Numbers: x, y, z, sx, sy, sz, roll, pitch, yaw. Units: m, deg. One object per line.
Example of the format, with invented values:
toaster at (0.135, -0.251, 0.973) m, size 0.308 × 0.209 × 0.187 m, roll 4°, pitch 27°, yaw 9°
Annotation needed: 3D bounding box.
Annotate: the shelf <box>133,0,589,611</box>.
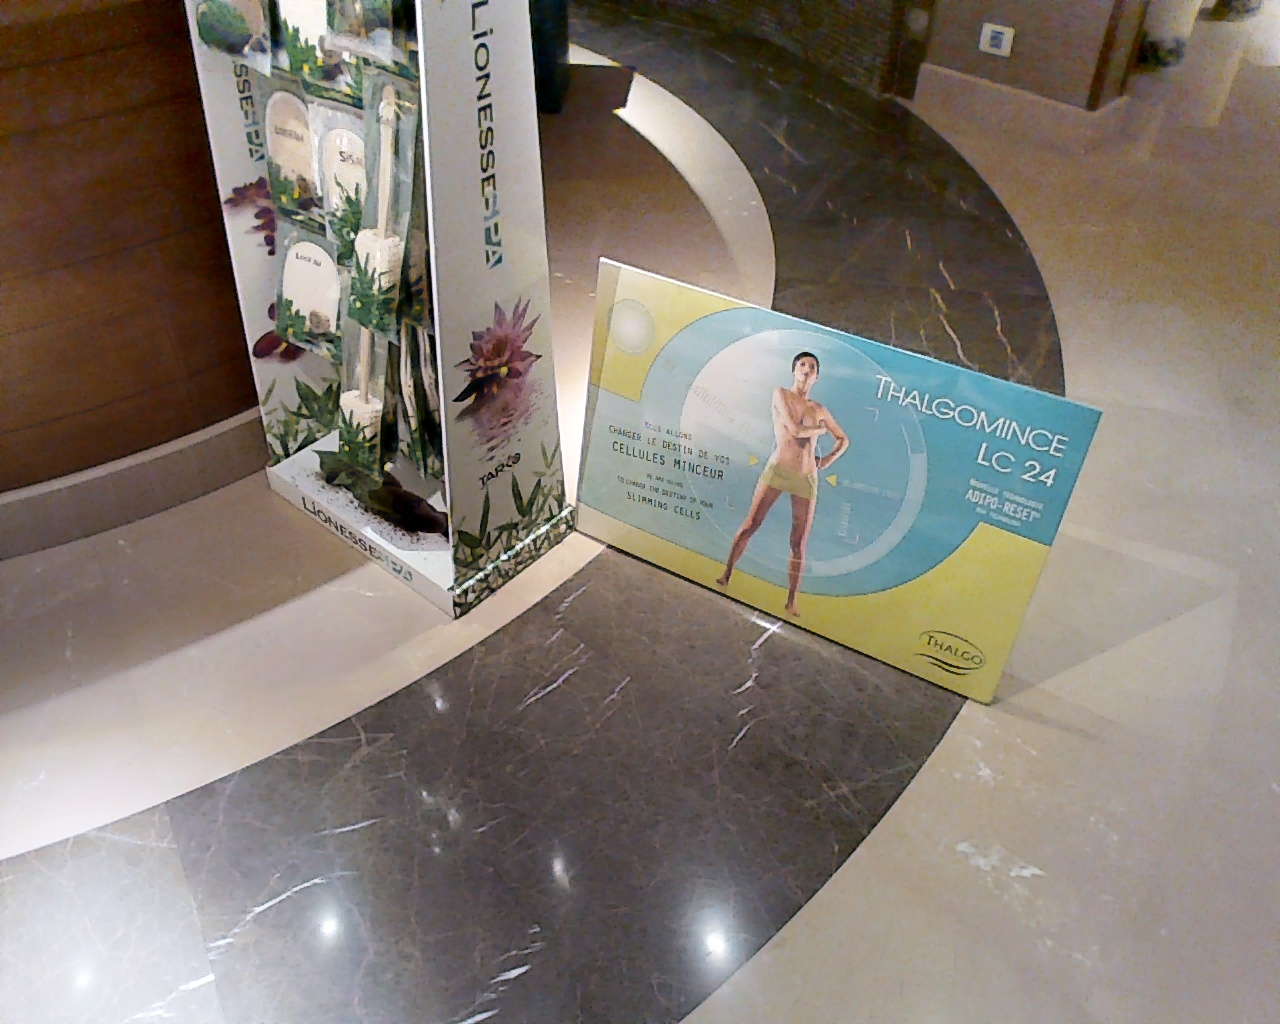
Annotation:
shelf at (-0.480, -0.750, 1.820) m, size 0.670 × 1.900 × 0.390 m, roll 32°, pitch 51°, yaw 29°
